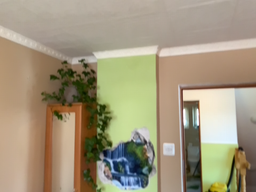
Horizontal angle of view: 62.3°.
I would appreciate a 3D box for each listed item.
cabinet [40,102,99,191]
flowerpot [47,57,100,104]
[{"bbox_3d":[-0.680,1.030,2.480,0.520,1.890,0.370,-2,-6,20],"label":"cabinet"},{"bbox_3d":[-0.650,-0.160,2.580,0.490,0.500,0.380,-2,-6,19],"label":"flowerpot"}]
